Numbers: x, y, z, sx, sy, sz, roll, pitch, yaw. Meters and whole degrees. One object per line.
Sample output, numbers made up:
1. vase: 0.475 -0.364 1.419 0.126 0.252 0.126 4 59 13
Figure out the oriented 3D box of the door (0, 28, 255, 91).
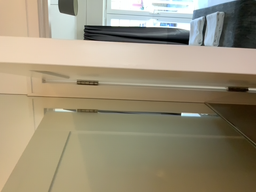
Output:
1. door: 0.540 -0.060 0.810 0.840 2.000 0.040 165 108 -88
